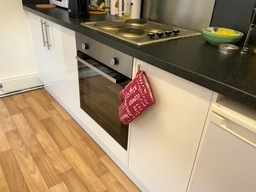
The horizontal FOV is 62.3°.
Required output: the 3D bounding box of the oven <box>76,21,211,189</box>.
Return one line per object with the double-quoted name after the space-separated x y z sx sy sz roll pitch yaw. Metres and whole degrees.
0.060 0.010 1.540 0.600 0.920 0.590 -19 37 -36 "oven"
